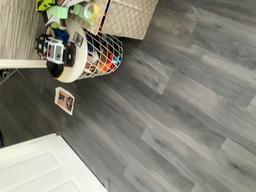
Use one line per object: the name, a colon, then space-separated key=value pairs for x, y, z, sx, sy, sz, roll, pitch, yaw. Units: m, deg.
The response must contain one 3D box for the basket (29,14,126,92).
basket: x=-0.350 y=-0.300 z=1.510 sx=0.380 sy=0.470 sz=0.350 roll=35 pitch=116 yaw=28
